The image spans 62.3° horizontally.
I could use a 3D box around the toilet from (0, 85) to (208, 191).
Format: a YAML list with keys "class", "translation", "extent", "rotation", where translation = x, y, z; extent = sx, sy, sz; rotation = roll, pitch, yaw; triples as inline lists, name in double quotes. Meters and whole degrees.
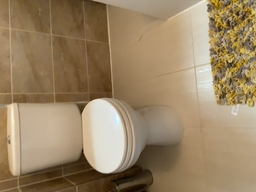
- class: "toilet"
  translation: [-0.170, 0.190, 1.140]
  extent: [0.690, 0.960, 0.430]
  rotation: [-6, 87, 53]
